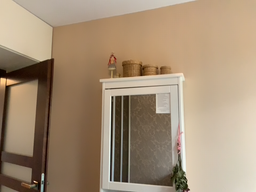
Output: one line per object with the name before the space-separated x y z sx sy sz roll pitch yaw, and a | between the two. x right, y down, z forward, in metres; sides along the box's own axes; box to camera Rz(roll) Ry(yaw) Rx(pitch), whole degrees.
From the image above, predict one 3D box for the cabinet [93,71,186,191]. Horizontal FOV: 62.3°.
cabinet | 0.080 0.350 1.540 0.630 1.010 0.160 -2 -8 18
